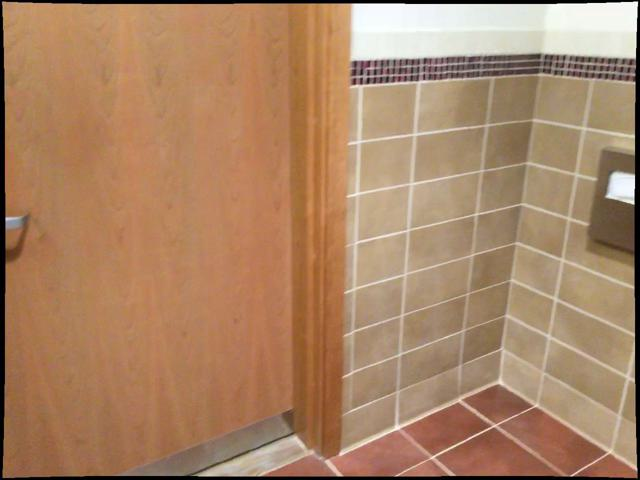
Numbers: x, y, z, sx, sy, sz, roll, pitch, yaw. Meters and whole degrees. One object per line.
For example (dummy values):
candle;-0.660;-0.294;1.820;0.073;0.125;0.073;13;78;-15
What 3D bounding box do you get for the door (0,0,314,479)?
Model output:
door;-0.450;-0.230;1.430;0.899;2.072;0.100;-13;24;-28
